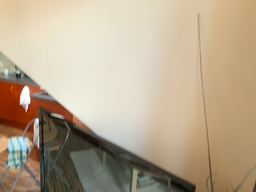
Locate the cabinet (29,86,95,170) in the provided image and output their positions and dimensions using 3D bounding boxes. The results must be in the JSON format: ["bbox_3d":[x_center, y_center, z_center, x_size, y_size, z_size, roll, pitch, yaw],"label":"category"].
[{"bbox_3d":[-0.890,0.390,2.950,0.600,0.920,0.600,9,14,20],"label":"cabinet"}]
